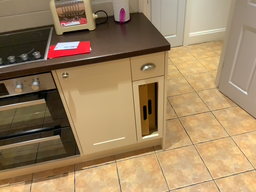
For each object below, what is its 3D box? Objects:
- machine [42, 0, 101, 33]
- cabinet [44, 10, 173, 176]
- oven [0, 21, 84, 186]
[{"bbox_3d":[-0.360,-0.570,1.380,0.310,0.190,0.250,-11,38,-7],"label":"machine"},{"bbox_3d":[-0.120,-0.020,1.630,0.660,0.980,0.650,-11,38,-7],"label":"cabinet"},{"bbox_3d":[-0.740,0.070,1.570,0.600,0.980,0.590,-11,38,-7],"label":"oven"}]
